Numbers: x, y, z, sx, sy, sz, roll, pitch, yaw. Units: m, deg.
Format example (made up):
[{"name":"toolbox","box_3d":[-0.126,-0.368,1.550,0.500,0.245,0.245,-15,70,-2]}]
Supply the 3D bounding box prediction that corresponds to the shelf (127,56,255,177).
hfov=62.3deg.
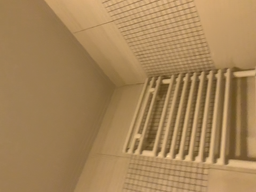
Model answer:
[{"name":"shelf","box_3d":[0.550,0.070,0.910,0.200,1.030,0.490,55,-136,-40]}]
